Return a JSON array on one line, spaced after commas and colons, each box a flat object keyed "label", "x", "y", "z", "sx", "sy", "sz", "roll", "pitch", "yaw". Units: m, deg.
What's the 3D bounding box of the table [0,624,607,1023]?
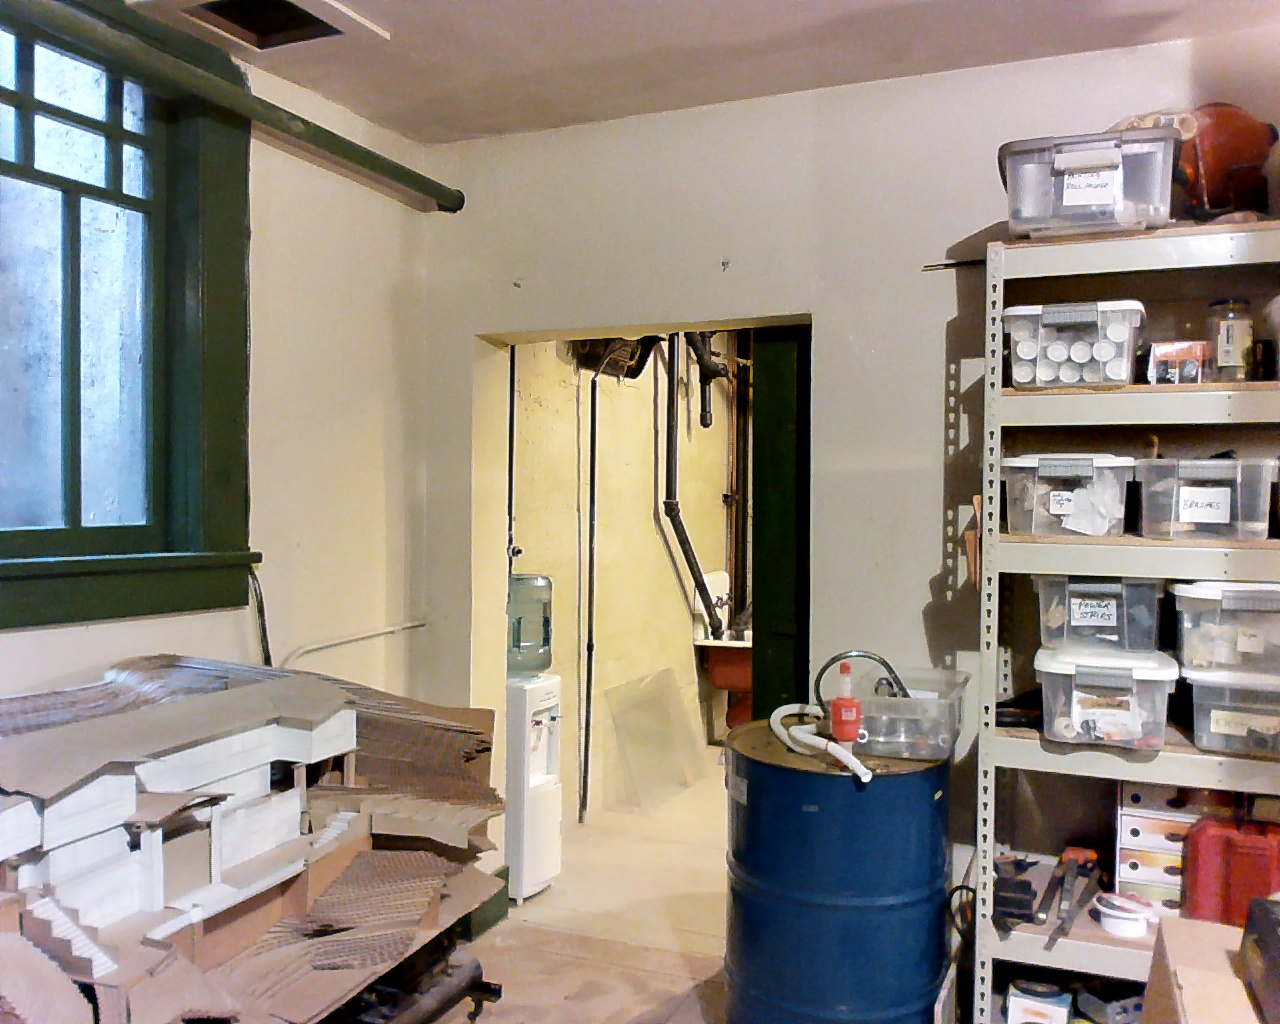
[{"label": "table", "x": -0.900, "y": 0.890, "z": 1.940, "sx": 1.200, "sy": 1.160, "sz": 1.380, "roll": 1, "pitch": 1, "yaw": 23}]

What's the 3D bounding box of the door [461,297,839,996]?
[{"label": "door", "x": 0.010, "y": 0.400, "z": 3.610, "sx": 1.240, "sy": 2.100, "sz": 0.290, "roll": 1, "pitch": 1, "yaw": 23}]

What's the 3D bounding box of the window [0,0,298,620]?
[{"label": "window", "x": -1.960, "y": -0.470, "z": 1.210, "sx": 0.150, "sy": 1.450, "sz": 4.400, "roll": 1, "pitch": 1, "yaw": 23}]
